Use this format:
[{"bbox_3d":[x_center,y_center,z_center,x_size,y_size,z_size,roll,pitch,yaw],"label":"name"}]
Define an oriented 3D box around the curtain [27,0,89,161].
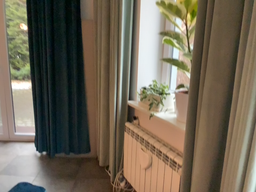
[{"bbox_3d":[-0.820,-0.620,2.600,0.610,2.910,0.350,3,13,1],"label":"curtain"}]
